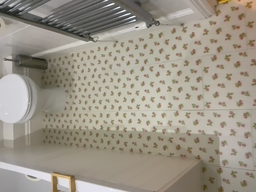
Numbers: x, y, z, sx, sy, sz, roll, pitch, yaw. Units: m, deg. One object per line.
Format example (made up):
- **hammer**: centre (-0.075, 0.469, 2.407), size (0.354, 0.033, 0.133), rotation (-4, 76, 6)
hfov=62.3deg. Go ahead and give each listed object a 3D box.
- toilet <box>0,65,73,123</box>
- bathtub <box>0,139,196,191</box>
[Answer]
- **toilet**: centre (-0.940, 0.010, 1.660), size (0.620, 0.760, 0.360), rotation (-5, 87, 34)
- **bathtub**: centre (-0.440, 0.720, 1.430), size (1.640, 0.550, 0.680), rotation (-4, 87, 34)
